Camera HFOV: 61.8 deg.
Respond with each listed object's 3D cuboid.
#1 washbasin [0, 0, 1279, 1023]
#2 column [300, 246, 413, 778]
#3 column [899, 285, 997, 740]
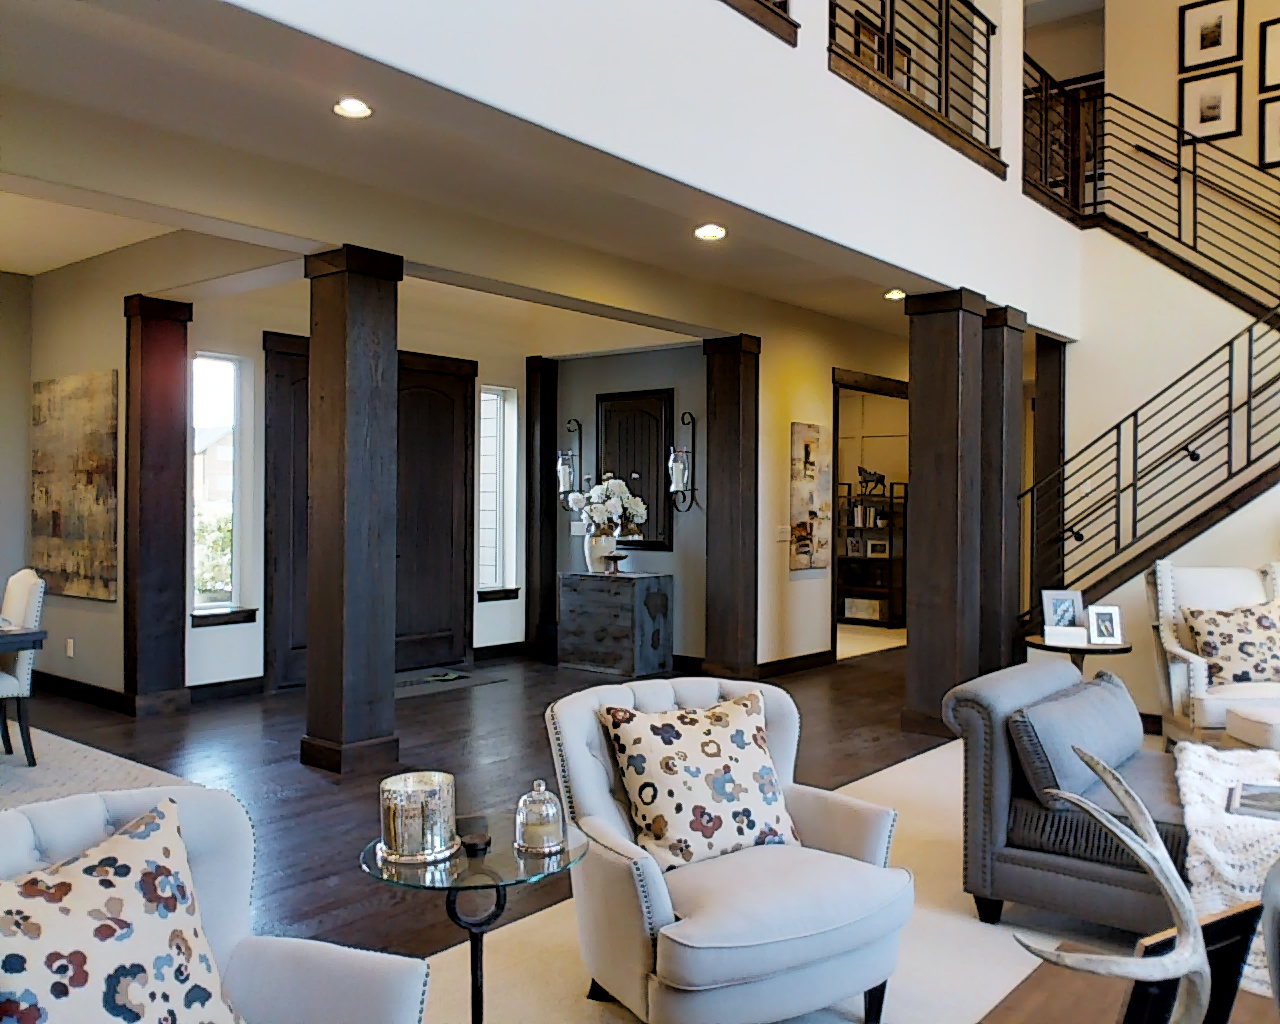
[{"bbox_3d":[2.940,-1.700,9.130,20.149,6.080,23.090,1,0,39],"label":"washbasin"},{"bbox_3d":[-1.500,0.000,5.670,0.410,2.680,0.390,1,0,39],"label":"column"},{"bbox_3d":[1.900,0.000,6.600,0.420,2.680,0.420,1,0,39],"label":"column"}]
